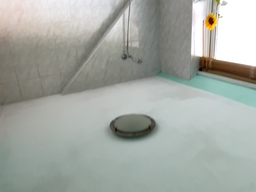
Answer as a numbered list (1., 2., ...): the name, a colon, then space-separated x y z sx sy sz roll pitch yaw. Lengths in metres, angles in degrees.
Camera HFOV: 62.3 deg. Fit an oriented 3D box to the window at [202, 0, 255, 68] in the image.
1. window: 1.050 -0.700 1.630 0.110 0.950 1.130 -13 -157 -23
